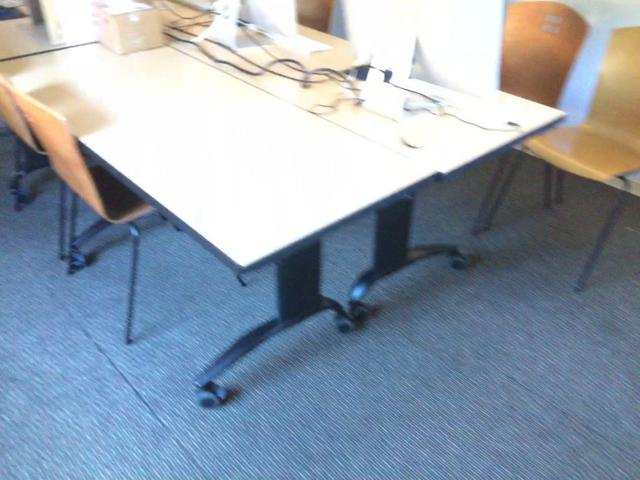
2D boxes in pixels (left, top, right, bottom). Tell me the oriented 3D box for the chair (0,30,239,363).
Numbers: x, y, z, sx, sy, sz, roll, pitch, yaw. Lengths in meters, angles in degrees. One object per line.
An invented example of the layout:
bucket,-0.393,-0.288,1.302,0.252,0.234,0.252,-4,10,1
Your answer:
chair,-0.620,-0.150,1.840,0.460,0.820,0.510,-29,46,-36

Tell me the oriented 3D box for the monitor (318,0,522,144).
monitor,0.250,-0.580,1.600,0.190,0.440,0.520,-29,46,-36

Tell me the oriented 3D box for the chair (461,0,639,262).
chair,0.970,-0.480,2.170,0.610,0.830,0.470,-29,46,-36
